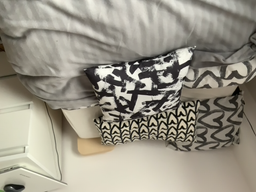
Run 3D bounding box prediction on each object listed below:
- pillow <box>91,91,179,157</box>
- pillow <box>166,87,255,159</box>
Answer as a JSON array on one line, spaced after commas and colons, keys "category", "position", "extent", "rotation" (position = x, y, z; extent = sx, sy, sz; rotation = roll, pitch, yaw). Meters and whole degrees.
[{"category": "pillow", "position": [0.040, 0.180, 1.220], "extent": [0.420, 0.130, 0.410], "rotation": [-10, 146, -3]}, {"category": "pillow", "position": [0.500, 0.170, 1.230], "extent": [0.460, 0.180, 0.410], "rotation": [-8, 145, -5]}]
